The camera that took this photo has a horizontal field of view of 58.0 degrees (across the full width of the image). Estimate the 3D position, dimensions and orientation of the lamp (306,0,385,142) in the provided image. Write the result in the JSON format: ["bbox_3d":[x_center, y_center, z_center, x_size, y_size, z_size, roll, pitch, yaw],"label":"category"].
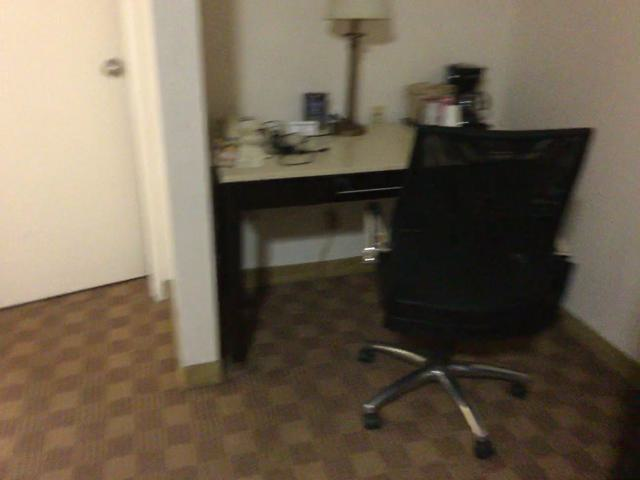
[{"bbox_3d":[0.090,-0.760,2.290,0.210,0.680,0.310,-5,21,-16],"label":"lamp"}]

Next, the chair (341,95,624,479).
[{"bbox_3d":[0.420,0.110,1.830,0.620,1.030,0.630,4,20,7],"label":"chair"}]

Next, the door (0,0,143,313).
[{"bbox_3d":[-1.140,-0.620,2.320,0.710,1.910,0.070,-8,23,-26],"label":"door"}]
